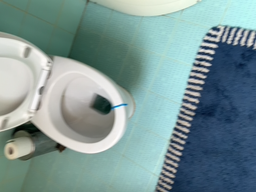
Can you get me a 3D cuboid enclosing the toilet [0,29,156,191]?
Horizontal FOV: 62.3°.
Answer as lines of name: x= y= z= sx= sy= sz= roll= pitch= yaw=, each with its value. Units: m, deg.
toilet: x=-0.340 y=0.010 z=0.900 sx=0.640 sy=0.790 sz=0.360 roll=28 pitch=99 yaw=20
